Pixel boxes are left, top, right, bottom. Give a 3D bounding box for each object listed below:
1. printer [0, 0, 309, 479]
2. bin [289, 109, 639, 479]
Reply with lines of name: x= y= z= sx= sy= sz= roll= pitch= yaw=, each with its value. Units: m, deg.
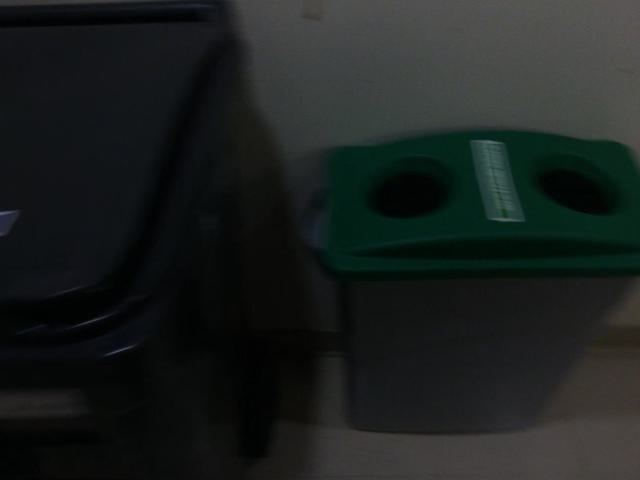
printer: x=-0.320 y=0.170 z=0.910 sx=0.480 sy=0.940 sz=0.590 roll=-3 pitch=43 yaw=5
bin: x=0.270 y=0.150 z=1.090 sx=0.550 sy=0.680 sz=0.290 roll=-3 pitch=43 yaw=5
